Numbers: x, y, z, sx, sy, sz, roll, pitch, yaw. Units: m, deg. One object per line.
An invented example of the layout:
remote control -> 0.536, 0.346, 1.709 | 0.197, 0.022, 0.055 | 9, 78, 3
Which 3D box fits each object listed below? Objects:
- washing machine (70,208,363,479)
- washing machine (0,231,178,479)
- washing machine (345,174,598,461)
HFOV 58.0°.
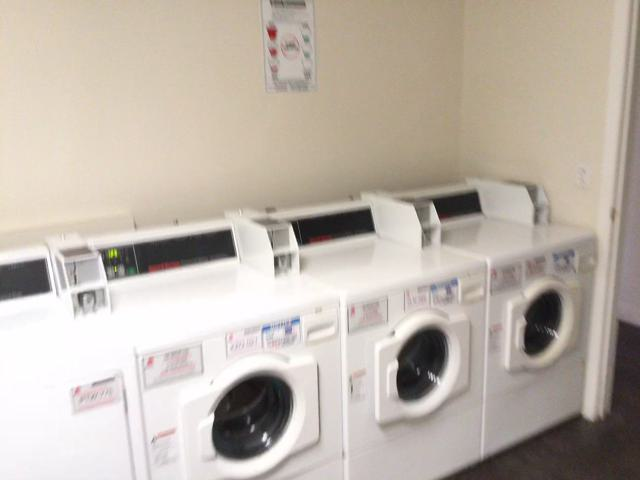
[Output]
washing machine -> -0.380, 0.490, 2.120 | 0.670, 1.040, 0.750 | -16, 16, -30
washing machine -> -0.920, 0.590, 1.770 | 0.710, 1.030, 0.690 | -16, 16, -30
washing machine -> 0.710, 0.270, 2.780 | 0.690, 1.030, 0.880 | -15, 15, -29
